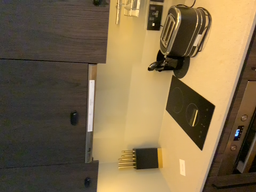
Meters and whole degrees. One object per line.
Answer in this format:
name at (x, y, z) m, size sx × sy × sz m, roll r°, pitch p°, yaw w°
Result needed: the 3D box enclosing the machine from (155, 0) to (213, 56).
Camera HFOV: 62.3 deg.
machine at (0.310, -0.400, 1.240) m, size 0.220 × 0.190 × 0.250 m, roll -110°, pitch 26°, yaw -52°
